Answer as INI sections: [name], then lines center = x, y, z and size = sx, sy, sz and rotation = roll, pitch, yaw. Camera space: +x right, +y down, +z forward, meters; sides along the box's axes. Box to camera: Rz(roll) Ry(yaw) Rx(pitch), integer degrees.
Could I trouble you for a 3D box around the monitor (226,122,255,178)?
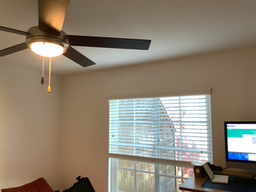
[monitor]
center = 1.240, 0.510, 1.930
size = 0.620, 0.490, 0.040
rotation = 1, 1, 31
